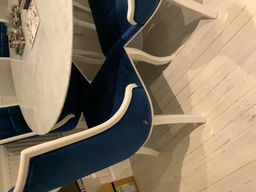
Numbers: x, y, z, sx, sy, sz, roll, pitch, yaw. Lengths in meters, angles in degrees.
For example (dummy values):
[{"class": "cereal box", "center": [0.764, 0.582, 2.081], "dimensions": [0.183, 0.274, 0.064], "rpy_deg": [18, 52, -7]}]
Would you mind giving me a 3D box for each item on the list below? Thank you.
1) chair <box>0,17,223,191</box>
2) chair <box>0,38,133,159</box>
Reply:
[{"class": "chair", "center": [-0.110, 0.110, 1.090], "dimensions": [0.540, 0.910, 0.570], "rpy_deg": [-48, 55, 39]}, {"class": "chair", "center": [-0.550, 0.000, 1.640], "dimensions": [0.530, 0.900, 0.610], "rpy_deg": [43, 121, 42]}]
